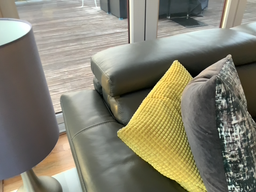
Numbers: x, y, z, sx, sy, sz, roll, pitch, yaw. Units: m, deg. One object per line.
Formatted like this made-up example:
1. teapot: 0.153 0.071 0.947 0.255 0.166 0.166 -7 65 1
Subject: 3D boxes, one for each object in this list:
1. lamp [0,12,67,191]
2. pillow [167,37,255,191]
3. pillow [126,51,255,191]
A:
1. lamp: -0.330 0.130 0.590 0.210 0.620 0.280 -14 35 -19
2. pillow: 0.310 0.100 0.760 0.140 0.390 0.440 23 63 19
3. pillow: 0.210 0.150 0.790 0.180 0.450 0.410 30 61 2
